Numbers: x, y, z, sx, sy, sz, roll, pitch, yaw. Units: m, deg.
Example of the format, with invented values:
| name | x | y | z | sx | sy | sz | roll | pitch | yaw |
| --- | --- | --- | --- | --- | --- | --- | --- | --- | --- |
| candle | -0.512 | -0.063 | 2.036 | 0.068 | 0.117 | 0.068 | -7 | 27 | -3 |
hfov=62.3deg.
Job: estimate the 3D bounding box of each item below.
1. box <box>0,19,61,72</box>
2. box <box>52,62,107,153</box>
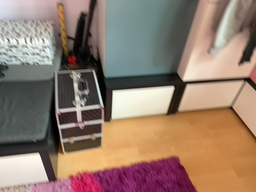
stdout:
| name | x | y | z | sx | sy | sz | roll | pitch | yaw |
| --- | --- | --- | --- | --- | --- | --- | --- | --- | --- |
| box | -0.690 | -0.350 | 1.430 | 0.430 | 0.200 | 0.320 | -6 | 44 | -14 |
| box | -0.320 | 0.060 | 1.390 | 0.280 | 0.370 | 0.430 | -6 | 44 | -15 |
